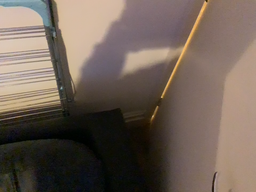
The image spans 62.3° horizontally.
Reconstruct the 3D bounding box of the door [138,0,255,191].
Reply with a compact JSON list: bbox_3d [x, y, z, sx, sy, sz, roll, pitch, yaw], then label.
[{"bbox_3d":[0.250,-0.050,0.570,0.050,2.050,0.810,12,54,-2],"label":"door"}]
